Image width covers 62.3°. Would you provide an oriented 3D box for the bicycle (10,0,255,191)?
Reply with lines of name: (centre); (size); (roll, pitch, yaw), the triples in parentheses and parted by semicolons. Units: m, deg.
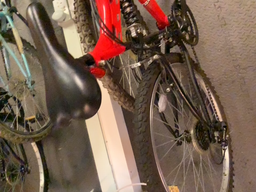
bicycle: (0.010, -0.420, 0.780); (0.420, 0.740, 1.750); (-16, 85, 21)
